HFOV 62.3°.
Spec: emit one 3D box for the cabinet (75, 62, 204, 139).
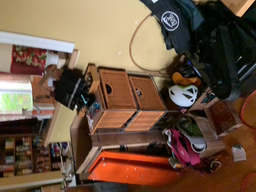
[{"bbox_3d":[0.100,0.050,1.850,0.390,0.960,0.440,-62,39,36],"label":"cabinet"}]
